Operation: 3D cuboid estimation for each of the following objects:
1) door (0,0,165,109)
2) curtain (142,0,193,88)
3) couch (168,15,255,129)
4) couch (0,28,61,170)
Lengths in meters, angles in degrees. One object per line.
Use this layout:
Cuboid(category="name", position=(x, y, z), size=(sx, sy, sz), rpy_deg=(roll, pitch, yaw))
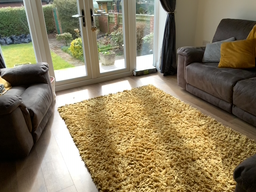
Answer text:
Cuboid(category="door", position=(-0.600, -1.230, 3.100), size=(2.640, 2.360, 0.250), rpy_deg=(-14, 29, -25))
Cuboid(category="curtain", position=(0.630, -1.350, 3.370), size=(0.770, 2.390, 0.280), rpy_deg=(-15, 29, -26))
Cuboid(category="couch", position=(1.430, -0.410, 2.620), size=(0.930, 0.950, 1.700), rpy_deg=(-15, 29, -25))
Cuboid(category="couch", position=(-1.270, -0.060, 2.070), size=(0.850, 0.970, 1.170), rpy_deg=(-4, 26, -5))
